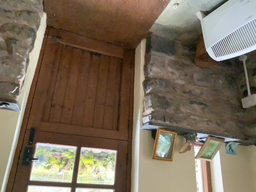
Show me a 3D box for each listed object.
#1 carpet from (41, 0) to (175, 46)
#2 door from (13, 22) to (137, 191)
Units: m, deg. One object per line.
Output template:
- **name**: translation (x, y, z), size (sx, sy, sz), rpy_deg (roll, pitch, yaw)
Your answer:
- **carpet**: translation (-0.200, -0.720, 1.740), size (0.960, 0.040, 0.660), rpy_deg (10, 157, -17)
- **door**: translation (-0.380, 0.360, 1.750), size (0.840, 2.080, 0.100), rpy_deg (10, 158, -16)
